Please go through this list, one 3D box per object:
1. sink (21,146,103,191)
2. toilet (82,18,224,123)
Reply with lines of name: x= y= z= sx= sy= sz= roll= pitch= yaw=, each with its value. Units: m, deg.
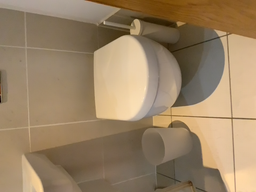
sink: x=-0.290 y=0.590 z=0.890 sx=0.470 sy=0.200 sz=0.650 roll=-4 pitch=89 yaw=56
toilet: x=0.100 y=-0.090 z=1.130 sx=0.550 sy=0.490 sz=0.380 roll=-4 pitch=89 yaw=56
